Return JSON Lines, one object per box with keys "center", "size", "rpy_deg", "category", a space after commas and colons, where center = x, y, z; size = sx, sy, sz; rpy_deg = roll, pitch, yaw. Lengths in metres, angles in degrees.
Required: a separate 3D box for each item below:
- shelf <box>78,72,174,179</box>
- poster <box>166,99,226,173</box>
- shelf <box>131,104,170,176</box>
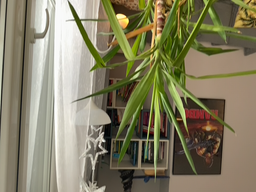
{"center": [-0.030, 0.360, 2.610], "size": [1.050, 1.190, 0.350], "rpy_deg": [3, 180, -10], "category": "shelf"}
{"center": [0.850, 0.500, 2.650], "size": [0.680, 0.880, 0.130], "rpy_deg": [3, 180, -11], "category": "poster"}
{"center": [0.270, 0.540, 2.660], "size": [0.390, 0.840, 0.240], "rpy_deg": [3, 180, -8], "category": "shelf"}
